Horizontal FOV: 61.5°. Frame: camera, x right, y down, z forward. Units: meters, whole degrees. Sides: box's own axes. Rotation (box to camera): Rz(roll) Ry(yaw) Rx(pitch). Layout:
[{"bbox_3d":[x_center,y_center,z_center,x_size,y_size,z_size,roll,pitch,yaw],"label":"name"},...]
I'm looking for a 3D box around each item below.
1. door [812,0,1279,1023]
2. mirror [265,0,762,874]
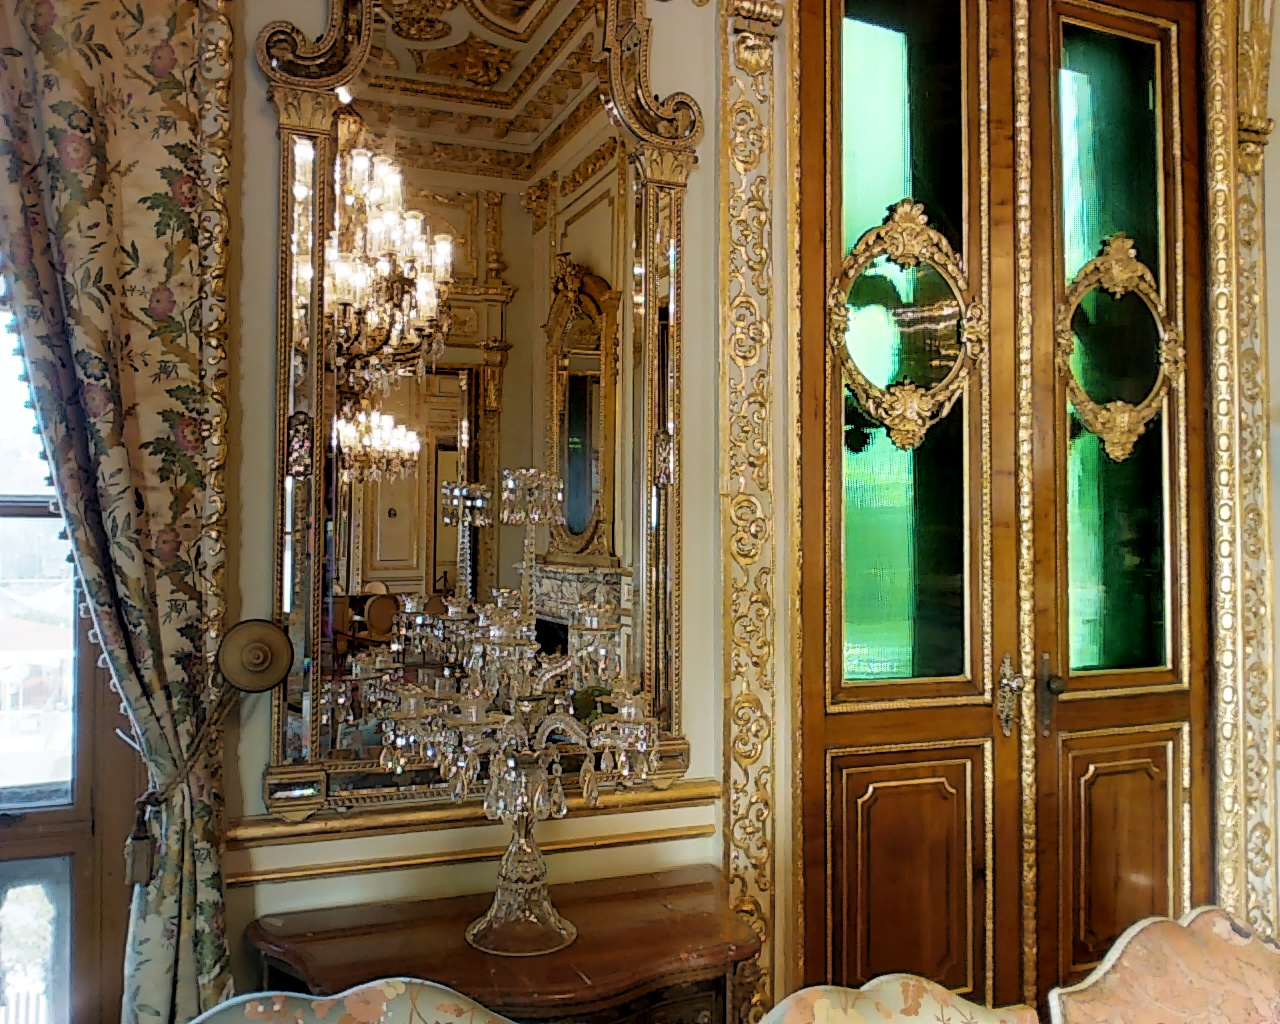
[{"bbox_3d":[1.239,0.040,3.170,1.579,3.442,0.130,0,-1,-22],"label":"door"},{"bbox_3d":[-0.270,-0.570,2.520,1.140,2.631,0.170,0,-1,-22],"label":"mirror"}]
